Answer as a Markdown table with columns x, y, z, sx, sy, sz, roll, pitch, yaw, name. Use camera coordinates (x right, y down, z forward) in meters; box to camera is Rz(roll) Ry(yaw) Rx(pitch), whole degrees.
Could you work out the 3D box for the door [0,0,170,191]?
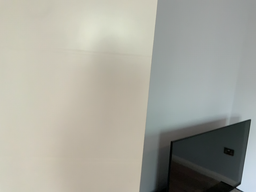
| x | y | z | sx | sy | sz | roll | pitch | yaw | name |
| --- | --- | --- | --- | --- | --- | --- | --- | --- | --- |
| -0.280 | 0.420 | 0.830 | 0.720 | 1.990 | 0.030 | 3 | 11 | -8 | door |
